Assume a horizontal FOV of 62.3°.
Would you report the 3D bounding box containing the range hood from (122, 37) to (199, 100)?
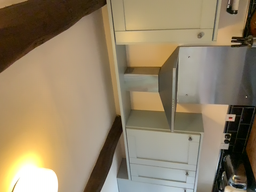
[{"bbox_3d":[0.320,-0.280,2.140,0.250,0.680,0.560,-69,-21,-53],"label":"range hood"}]
